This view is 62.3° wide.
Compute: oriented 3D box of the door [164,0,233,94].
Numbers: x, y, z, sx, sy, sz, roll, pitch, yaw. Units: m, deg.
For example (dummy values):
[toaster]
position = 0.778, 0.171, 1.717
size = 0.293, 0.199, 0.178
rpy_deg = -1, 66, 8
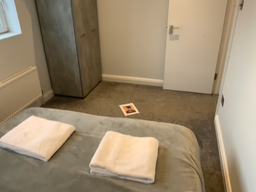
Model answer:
[door]
position = 0.980, -0.970, 3.010
size = 0.800, 1.980, 0.060
rpy_deg = 7, 28, 16

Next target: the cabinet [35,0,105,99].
[cabinet]
position = -0.820, -1.000, 3.220
size = 0.570, 1.890, 0.810
rpy_deg = 6, 28, 13
